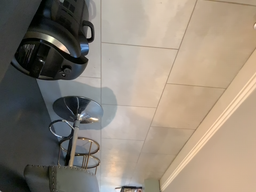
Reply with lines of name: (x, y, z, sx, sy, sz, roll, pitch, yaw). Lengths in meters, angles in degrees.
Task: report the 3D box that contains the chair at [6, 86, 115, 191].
chair: (-0.380, 0.480, 1.460, 0.520, 1.000, 0.520, 0, 143, 0)
